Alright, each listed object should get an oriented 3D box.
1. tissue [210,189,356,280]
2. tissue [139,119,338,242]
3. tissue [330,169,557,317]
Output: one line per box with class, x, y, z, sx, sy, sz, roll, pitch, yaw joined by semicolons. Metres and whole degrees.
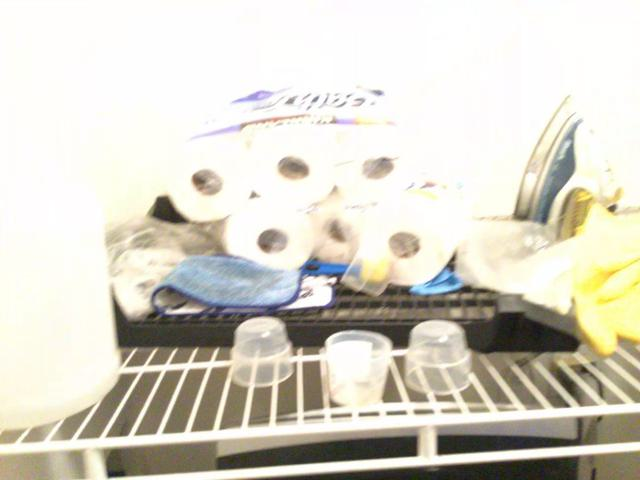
tissue;-0.050;-0.010;0.820;0.190;0.100;0.080;-4;15;-2
tissue;-0.110;-0.090;0.840;0.260;0.150;0.090;-4;15;-2
tissue;0.150;-0.010;0.810;0.250;0.130;0.250;-4;15;-2
